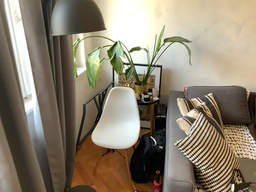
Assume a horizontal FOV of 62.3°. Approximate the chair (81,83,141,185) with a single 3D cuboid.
[{"bbox_3d":[-0.140,0.370,2.230,0.460,0.830,0.580,5,23,8],"label":"chair"}]
